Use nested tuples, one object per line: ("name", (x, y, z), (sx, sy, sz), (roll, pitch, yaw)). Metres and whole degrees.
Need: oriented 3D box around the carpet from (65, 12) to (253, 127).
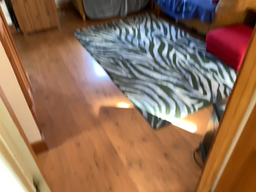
("carpet", (0.190, -0.650, 2.920), (1.470, 0.050, 2.370), (-20, 44, -21))
